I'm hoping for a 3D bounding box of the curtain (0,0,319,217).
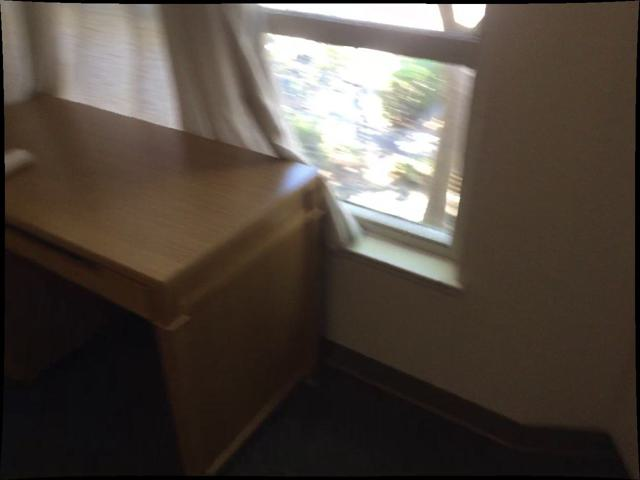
[{"bbox_3d":[-0.679,-0.891,1.610,1.408,1.362,0.260,18,38,22],"label":"curtain"}]

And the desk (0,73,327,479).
[{"bbox_3d":[-0.689,0.080,1.790,1.229,0.801,0.670,19,38,24],"label":"desk"}]

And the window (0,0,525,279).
[{"bbox_3d":[-0.349,-0.751,1.560,1.738,1.402,0.230,16,38,23],"label":"window"}]
